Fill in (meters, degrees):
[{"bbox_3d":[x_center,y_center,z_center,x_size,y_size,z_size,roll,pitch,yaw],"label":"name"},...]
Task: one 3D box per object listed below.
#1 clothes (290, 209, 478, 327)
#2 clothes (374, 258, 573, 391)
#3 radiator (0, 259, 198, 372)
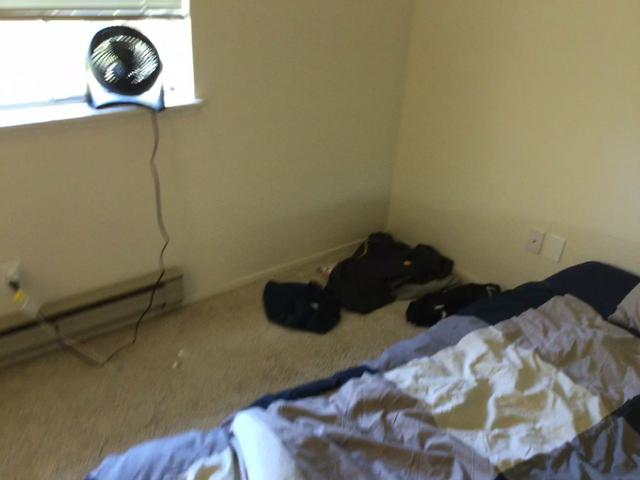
[{"bbox_3d":[0.300,0.100,2.780,0.640,0.190,0.600,-15,32,-37],"label":"clothes"},{"bbox_3d":[0.650,0.320,2.460,0.630,0.140,0.540,-15,32,-37],"label":"clothes"},{"bbox_3d":[-1.170,0.360,1.960,1.630,0.200,0.100,-15,32,-37],"label":"radiator"}]
